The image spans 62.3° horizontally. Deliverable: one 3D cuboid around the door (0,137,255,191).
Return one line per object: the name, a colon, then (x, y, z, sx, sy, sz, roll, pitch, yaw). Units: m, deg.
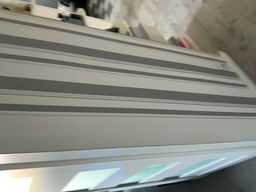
door: (-0.040, 0.480, 1.300, 0.850, 2.040, 0.100, -50, 45, 49)
